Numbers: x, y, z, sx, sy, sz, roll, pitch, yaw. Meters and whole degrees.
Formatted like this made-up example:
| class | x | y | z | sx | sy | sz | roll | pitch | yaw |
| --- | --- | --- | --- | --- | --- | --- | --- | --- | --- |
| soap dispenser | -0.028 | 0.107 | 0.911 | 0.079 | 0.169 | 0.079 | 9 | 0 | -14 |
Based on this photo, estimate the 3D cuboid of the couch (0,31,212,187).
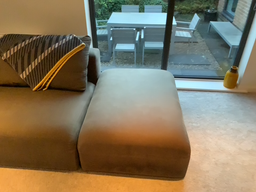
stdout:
| class | x | y | z | sx | sy | sz | roll | pitch | yaw |
| --- | --- | --- | --- | --- | --- | --- | --- | --- | --- |
| couch | -0.630 | -0.030 | 1.890 | 2.250 | 0.670 | 1.210 | 3 | 34 | 3 |
